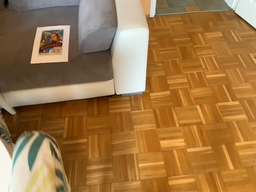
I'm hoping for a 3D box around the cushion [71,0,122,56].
[{"bbox_3d":[-0.190,-0.520,1.300,0.250,0.180,0.570,-6,54,-4],"label":"cushion"}]
